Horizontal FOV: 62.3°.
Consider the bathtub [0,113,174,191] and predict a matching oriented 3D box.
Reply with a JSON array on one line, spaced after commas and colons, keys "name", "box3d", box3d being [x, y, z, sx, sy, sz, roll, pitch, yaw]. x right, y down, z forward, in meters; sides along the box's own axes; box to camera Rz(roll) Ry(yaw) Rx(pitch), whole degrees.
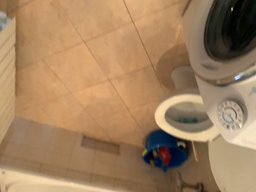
[{"name": "bathtub", "box3d": [-0.440, 0.760, 2.090, 1.580, 0.500, 0.690, 15, 132, -13]}]
